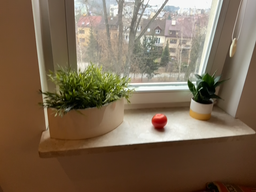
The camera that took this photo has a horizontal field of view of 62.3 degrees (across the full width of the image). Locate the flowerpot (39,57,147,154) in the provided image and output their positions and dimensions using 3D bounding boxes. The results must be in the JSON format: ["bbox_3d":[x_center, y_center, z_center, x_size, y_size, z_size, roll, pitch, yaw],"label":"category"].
[{"bbox_3d":[-0.160,0.010,0.900,0.370,0.280,0.290,-5,25,-19],"label":"flowerpot"}]

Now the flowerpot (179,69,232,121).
[{"bbox_3d":[0.370,-0.010,1.030,0.170,0.210,0.120,-5,25,-19],"label":"flowerpot"}]
